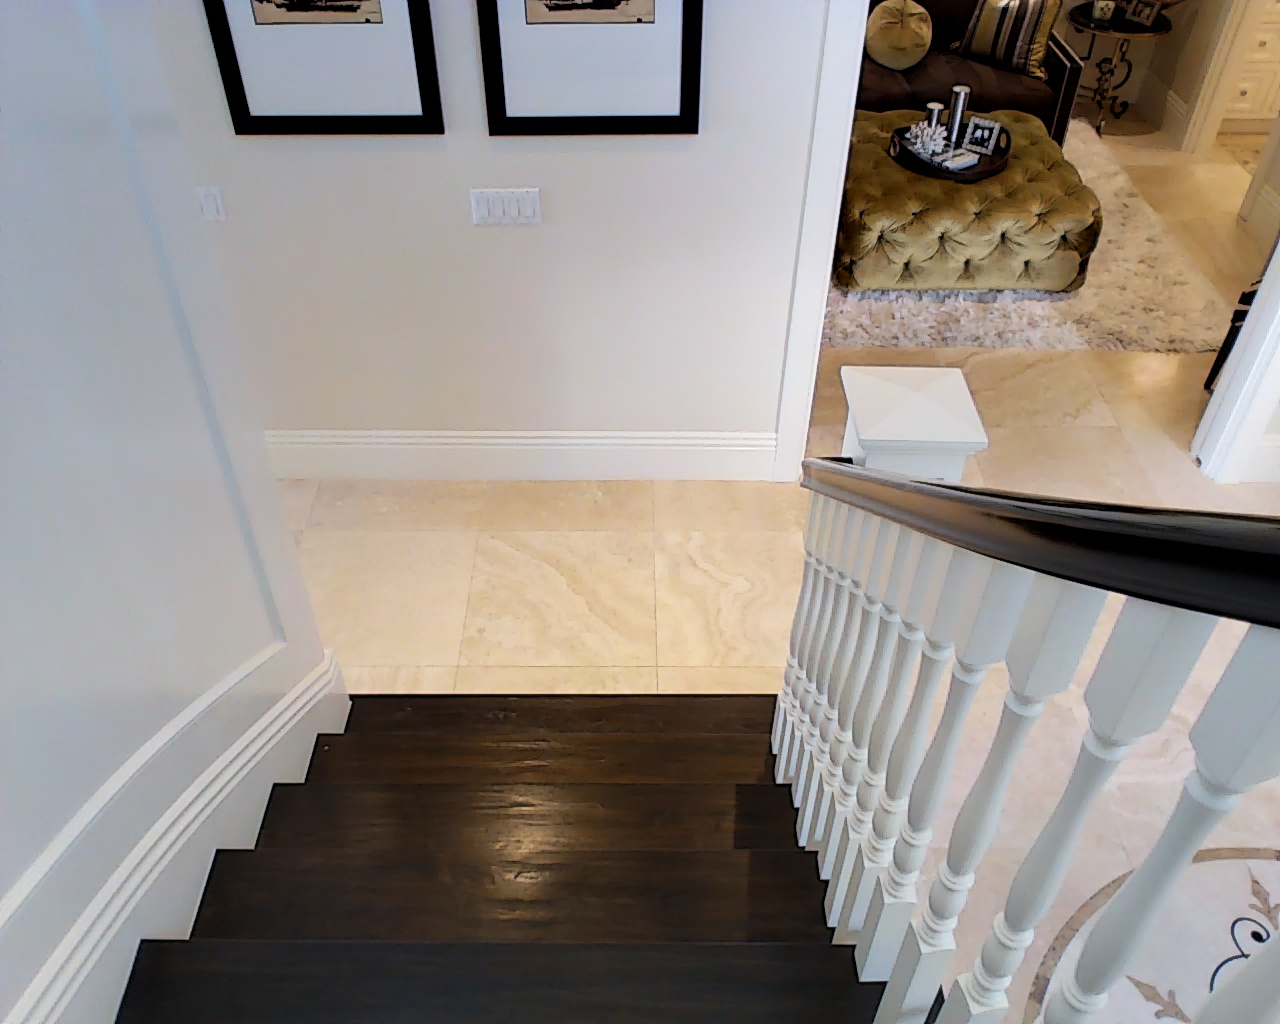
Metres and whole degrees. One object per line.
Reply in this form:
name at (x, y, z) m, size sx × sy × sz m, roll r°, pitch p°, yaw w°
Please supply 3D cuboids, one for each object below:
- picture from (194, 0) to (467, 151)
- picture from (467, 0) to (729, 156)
picture at (-0.840, -1.330, 2.870) m, size 0.670 × 0.730 × 0.040 m, roll 0°, pitch 41°, yaw 0°
picture at (-0.110, -1.330, 2.870) m, size 0.690 × 0.760 × 0.040 m, roll 0°, pitch 41°, yaw 0°
